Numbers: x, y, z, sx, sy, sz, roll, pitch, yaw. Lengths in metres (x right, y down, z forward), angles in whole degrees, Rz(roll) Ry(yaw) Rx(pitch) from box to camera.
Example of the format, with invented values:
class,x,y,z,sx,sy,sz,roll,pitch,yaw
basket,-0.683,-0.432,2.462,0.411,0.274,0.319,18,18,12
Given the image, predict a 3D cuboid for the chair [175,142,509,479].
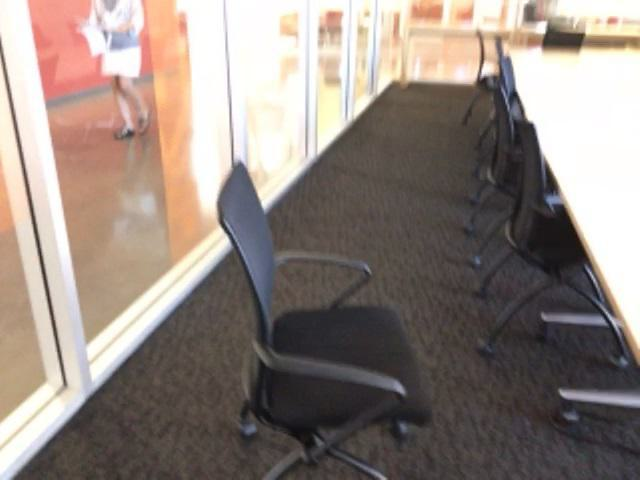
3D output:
class,x,y,z,sx,sy,sz,roll,pitch,yaw
chair,0.040,0.280,1.530,0.600,0.910,0.640,1,27,0
